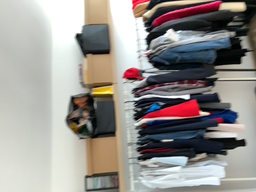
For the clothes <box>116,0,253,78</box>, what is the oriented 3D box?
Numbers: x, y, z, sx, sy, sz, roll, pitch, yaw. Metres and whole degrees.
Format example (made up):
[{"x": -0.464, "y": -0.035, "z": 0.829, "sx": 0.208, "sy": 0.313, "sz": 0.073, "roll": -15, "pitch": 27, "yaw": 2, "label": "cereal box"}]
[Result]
[{"x": 0.500, "y": -0.590, "z": 2.270, "sx": 0.700, "sy": 1.190, "sz": 0.520, "roll": 90, "pitch": 175, "yaw": -76, "label": "clothes"}]

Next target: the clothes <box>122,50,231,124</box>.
[{"x": 0.420, "y": -0.050, "z": 2.200, "sx": 0.640, "sy": 0.910, "sz": 0.550, "roll": 90, "pitch": 175, "yaw": -76, "label": "clothes"}]
